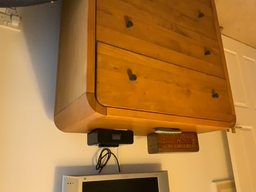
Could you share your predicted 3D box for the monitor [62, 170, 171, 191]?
[{"bbox_3d":[-0.020,0.650,1.180,0.690,0.400,0.040,8,160,-32],"label":"monitor"}]
